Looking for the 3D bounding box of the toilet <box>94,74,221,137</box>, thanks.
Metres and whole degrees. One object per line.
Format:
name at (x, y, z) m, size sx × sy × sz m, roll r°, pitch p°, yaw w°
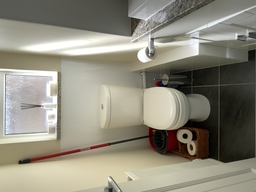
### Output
toilet at (0.200, 0.080, 1.780) m, size 0.710 × 0.790 × 0.380 m, roll 175°, pitch 96°, yaw -64°
